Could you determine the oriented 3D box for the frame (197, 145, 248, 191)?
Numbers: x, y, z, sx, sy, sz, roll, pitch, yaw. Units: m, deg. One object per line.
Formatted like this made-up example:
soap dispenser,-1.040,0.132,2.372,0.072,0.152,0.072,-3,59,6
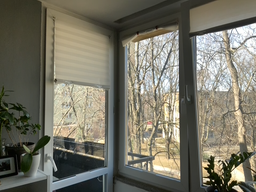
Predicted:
frame,0.610,0.590,1.360,0.240,0.480,0.250,-1,-3,39
